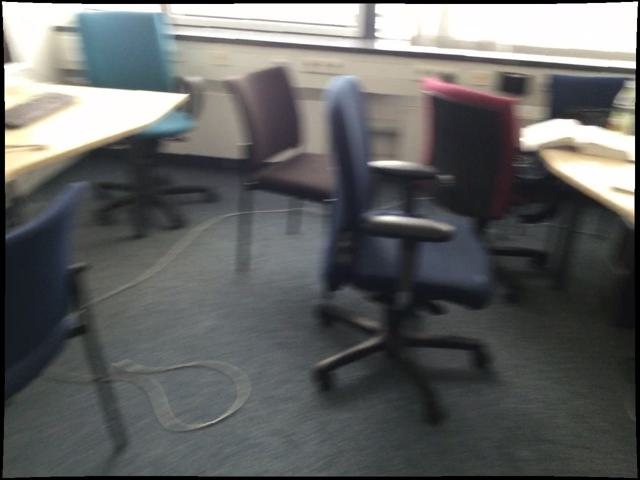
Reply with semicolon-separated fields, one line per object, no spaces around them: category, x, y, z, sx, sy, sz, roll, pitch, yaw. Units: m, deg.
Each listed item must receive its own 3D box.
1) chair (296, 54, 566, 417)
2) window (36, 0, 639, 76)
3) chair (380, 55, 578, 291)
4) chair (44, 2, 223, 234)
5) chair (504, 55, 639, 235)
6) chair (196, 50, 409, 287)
chair;0.290;-0.040;1.930;0.629;0.961;0.660;5;29;4
window;0.300;-1.441;3.140;3.566;0.751;0.630;5;29;4
chair;0.689;-0.330;2.640;0.570;0.871;0.480;-18;35;-33
chair;-0.939;-0.661;2.950;0.640;0.941;0.730;-12;32;-26
chair;1.269;-0.470;2.860;0.490;0.761;0.390;5;29;4
chair;-0.070;-0.350;2.530;0.640;0.761;0.610;18;32;25
